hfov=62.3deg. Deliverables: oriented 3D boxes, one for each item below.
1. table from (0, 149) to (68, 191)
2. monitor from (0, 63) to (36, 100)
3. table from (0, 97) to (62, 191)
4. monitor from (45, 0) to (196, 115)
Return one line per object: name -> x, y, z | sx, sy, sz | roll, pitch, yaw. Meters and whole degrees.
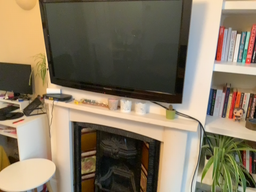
table -> -0.830, 0.820, 1.800 | 0.420, 0.480, 0.450 | 9, 17, 22
monitor -> -1.280, -0.170, 2.360 | 0.550, 0.380, 0.050 | 6, 13, 18
table -> -1.290, 0.510, 2.320 | 0.910, 0.780, 0.540 | 9, 17, 22
monitor -> -0.130, -0.310, 1.390 | 0.980, 0.670, 0.040 | 14, 24, 20
